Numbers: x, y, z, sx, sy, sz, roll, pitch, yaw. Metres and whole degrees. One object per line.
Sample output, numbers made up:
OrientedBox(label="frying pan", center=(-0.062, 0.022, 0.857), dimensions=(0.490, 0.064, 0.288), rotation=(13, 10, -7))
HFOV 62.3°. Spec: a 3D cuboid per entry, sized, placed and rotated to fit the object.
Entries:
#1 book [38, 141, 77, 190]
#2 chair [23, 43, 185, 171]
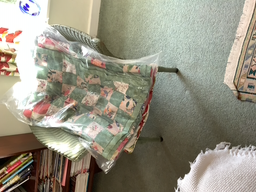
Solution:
OrientedBox(label="book", center=(-0.510, 0.490, 1.530), dimensions=(0.180, 0.180, 0.250), rotation=(14, 99, 42))
OrientedBox(label="chair", center=(-0.150, 0.000, 1.240), dimensions=(0.640, 0.620, 0.460), rotation=(18, 102, 42))
